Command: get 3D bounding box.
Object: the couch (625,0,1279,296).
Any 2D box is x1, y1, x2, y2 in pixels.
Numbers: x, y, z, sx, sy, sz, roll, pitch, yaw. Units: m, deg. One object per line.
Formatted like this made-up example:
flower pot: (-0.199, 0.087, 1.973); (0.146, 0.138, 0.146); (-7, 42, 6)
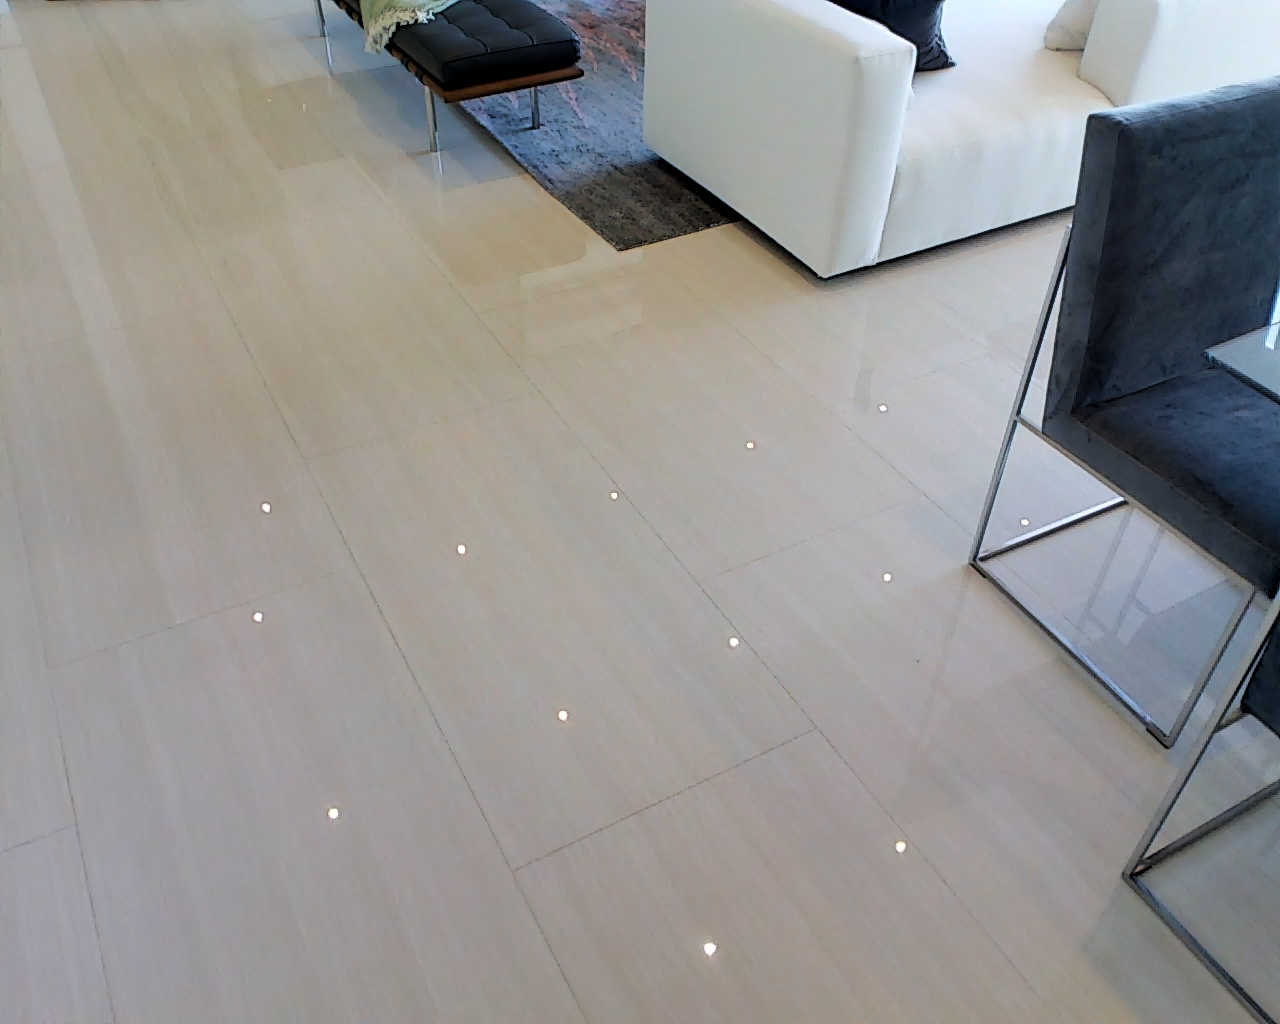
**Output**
couch: (1.600, -1.710, 3.810); (3.110, 0.700, 1.180); (-19, 46, -22)
